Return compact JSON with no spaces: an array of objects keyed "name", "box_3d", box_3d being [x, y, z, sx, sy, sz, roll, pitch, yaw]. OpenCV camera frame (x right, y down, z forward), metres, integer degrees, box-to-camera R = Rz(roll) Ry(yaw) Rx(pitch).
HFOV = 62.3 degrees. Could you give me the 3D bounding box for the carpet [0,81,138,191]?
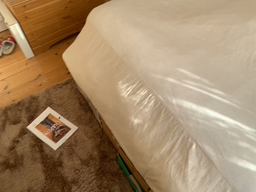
[{"name":"carpet","box_3d":[-0.400,0.550,1.270,0.740,0.100,1.390,-27,58,-17]}]
